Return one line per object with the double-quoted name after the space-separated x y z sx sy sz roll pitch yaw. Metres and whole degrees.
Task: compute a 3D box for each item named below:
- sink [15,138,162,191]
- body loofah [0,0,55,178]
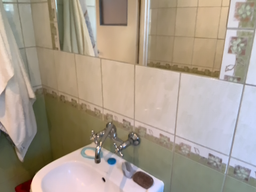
-0.180 0.440 0.980 0.520 0.170 0.410 17 26 37 "sink"
-0.640 -0.120 1.160 0.180 1.120 0.290 18 27 40 "body loofah"
